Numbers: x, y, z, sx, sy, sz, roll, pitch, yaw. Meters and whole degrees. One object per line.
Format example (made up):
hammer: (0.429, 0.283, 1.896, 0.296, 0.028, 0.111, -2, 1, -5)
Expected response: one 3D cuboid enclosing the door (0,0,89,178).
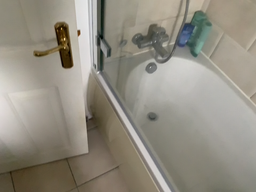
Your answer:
door: (-0.490, -0.120, 0.590, 0.710, 1.940, 0.040, -8, 55, -14)
